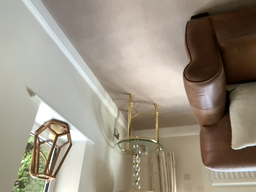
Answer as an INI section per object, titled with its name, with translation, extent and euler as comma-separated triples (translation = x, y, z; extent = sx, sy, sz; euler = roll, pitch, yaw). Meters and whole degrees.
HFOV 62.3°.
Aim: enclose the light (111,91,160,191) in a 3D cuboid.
[light]
translation = 0.110, 0.600, 2.300
extent = 0.330, 1.190, 0.500
euler = -9, 144, 18
